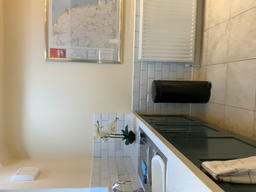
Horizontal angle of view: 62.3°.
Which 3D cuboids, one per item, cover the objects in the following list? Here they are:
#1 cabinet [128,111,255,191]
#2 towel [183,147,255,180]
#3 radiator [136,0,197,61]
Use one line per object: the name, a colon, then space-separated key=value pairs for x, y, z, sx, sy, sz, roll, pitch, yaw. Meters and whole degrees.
cabinet: x=0.620 y=0.600 z=1.820 sx=2.260 sy=0.920 sz=0.610 roll=-150 pitch=61 yaw=-81
towel: x=0.510 y=0.310 z=1.000 sx=0.180 sy=0.450 sz=0.080 roll=-153 pitch=65 yaw=-81
radiator: x=0.500 y=-1.040 z=2.750 sx=0.110 sy=0.750 sz=1.120 roll=-149 pitch=61 yaw=-81
